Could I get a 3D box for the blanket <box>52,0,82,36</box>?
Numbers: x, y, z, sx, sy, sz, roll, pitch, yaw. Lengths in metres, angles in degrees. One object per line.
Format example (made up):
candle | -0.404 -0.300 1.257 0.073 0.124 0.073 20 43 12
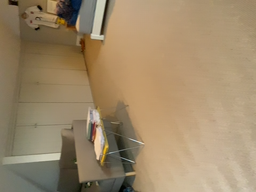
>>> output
blanket | -1.070 -1.830 3.650 1.190 0.390 1.080 -112 31 -43
